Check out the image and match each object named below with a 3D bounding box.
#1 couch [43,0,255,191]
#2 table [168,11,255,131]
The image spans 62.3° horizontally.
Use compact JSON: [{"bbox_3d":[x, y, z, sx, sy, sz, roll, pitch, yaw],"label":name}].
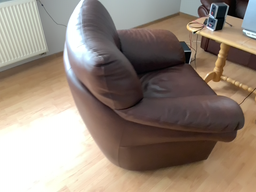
[{"bbox_3d":[0.090,-0.080,1.460,0.950,0.940,1.120,-7,40,-9],"label":"couch"},{"bbox_3d":[1.010,-0.260,1.930,0.560,0.640,1.090,-29,48,-31],"label":"table"}]
